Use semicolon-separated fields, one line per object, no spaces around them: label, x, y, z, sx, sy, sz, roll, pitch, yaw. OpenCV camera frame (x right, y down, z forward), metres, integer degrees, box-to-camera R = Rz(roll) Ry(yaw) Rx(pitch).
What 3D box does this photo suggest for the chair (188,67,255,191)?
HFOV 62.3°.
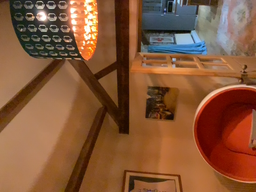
chair;1.340;0.400;2.360;1.030;1.060;1.160;51;-136;-82
